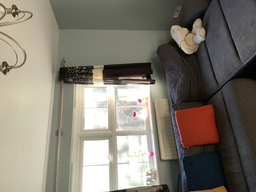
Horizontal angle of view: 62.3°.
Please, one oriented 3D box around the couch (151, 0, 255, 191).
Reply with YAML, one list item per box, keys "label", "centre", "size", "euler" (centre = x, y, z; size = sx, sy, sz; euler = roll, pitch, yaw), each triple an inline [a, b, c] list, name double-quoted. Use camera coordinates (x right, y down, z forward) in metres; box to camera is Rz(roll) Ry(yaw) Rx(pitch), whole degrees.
- label: "couch"
  centre: [0.920, 0.250, 2.440]
  size: [1.090, 0.830, 2.790]
  euler: [102, 166, -66]
